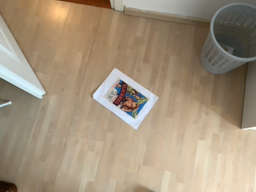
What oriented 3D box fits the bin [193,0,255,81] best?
[{"bbox_3d":[0.510,-0.280,1.070,0.250,0.290,0.300,10,77,3],"label":"bin"}]
